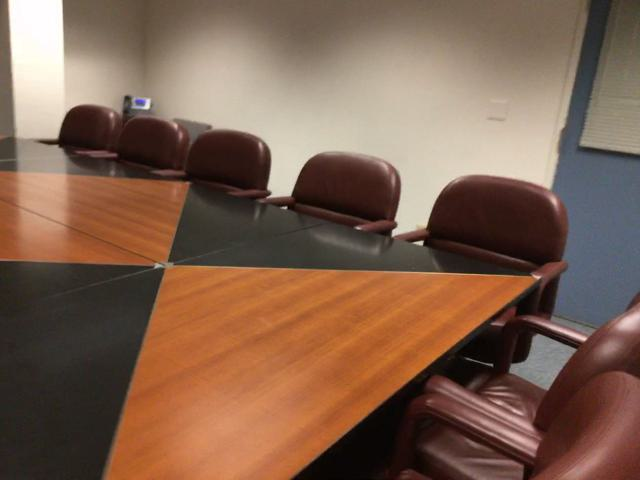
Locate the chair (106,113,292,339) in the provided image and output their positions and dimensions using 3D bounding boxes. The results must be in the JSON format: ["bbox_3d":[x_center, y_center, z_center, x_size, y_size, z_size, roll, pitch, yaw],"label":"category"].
[{"bbox_3d":[-0.630,-0.130,3.040,0.620,0.970,0.670,18,22,36],"label":"chair"}]

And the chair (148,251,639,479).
[{"bbox_3d":[0.150,0.590,1.040,0.650,0.900,0.600,18,22,36],"label":"chair"}]

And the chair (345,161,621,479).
[{"bbox_3d":[0.630,0.250,2.310,0.700,0.960,0.700,18,22,36],"label":"chair"}]

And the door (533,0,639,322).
[{"bbox_3d":[1.710,-0.480,2.980,0.850,1.830,0.140,18,22,36],"label":"door"}]

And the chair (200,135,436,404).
[{"bbox_3d":[-0.030,0.060,2.690,0.760,0.940,0.700,18,22,36],"label":"chair"}]

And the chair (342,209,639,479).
[{"bbox_3d":[0.540,0.480,1.550,0.690,0.910,0.630,18,22,36],"label":"chair"}]
